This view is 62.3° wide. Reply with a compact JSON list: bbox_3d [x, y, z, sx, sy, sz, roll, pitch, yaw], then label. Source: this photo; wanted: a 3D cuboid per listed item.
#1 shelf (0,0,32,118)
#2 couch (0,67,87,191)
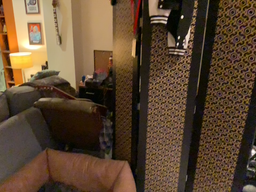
[{"bbox_3d":[-1.860,-0.660,3.350,0.310,2.030,0.260,7,19,16],"label":"shelf"},{"bbox_3d":[-1.360,0.360,2.080,1.040,0.900,2.050,6,18,16],"label":"couch"}]
